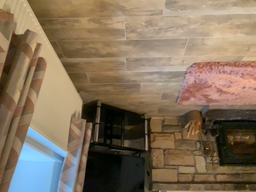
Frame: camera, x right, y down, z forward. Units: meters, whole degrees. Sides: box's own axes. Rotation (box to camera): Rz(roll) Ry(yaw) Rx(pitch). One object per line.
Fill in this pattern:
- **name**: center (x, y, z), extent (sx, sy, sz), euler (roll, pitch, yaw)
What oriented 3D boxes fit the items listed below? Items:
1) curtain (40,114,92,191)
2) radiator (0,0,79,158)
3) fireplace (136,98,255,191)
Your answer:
- **curtain**: center (-0.540, 1.150, 1.630), extent (0.290, 2.010, 0.360), euler (1, 154, 0)
- **radiator**: center (-0.590, -0.070, 1.390), extent (0.150, 0.660, 1.630), euler (1, 154, 0)
- **fireplace**: center (1.400, 0.740, 2.840), extent (2.510, 0.960, 1.170), euler (1, 154, -1)
